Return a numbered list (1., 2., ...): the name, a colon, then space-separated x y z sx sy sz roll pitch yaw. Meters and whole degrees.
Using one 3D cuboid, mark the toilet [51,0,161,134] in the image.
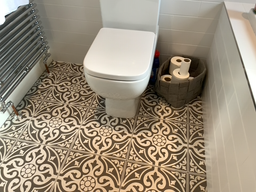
1. toilet: -0.040 -0.280 1.270 0.390 0.780 0.620 7 46 8
